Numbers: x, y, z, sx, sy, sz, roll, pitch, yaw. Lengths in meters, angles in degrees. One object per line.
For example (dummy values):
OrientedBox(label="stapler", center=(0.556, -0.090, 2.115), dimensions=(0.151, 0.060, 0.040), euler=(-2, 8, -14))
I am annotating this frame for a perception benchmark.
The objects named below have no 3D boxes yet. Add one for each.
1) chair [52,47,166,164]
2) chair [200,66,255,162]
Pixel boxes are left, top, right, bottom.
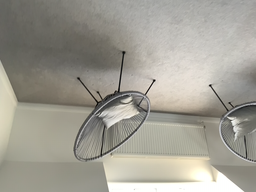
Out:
OrientedBox(label="chair", center=(-0.160, 0.160, 2.130), dimensions=(0.810, 0.840, 0.670), euler=(-15, 150, 24))
OrientedBox(label="chair", center=(1.390, 0.250, 2.460), dimensions=(0.730, 0.810, 0.800), euler=(-18, 149, 27))
